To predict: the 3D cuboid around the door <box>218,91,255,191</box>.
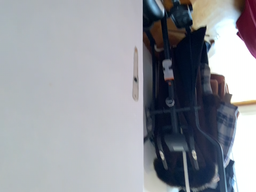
[{"bbox_3d":[2.340,1.050,3.610,1.210,2.370,0.160,-11,156,29],"label":"door"}]
